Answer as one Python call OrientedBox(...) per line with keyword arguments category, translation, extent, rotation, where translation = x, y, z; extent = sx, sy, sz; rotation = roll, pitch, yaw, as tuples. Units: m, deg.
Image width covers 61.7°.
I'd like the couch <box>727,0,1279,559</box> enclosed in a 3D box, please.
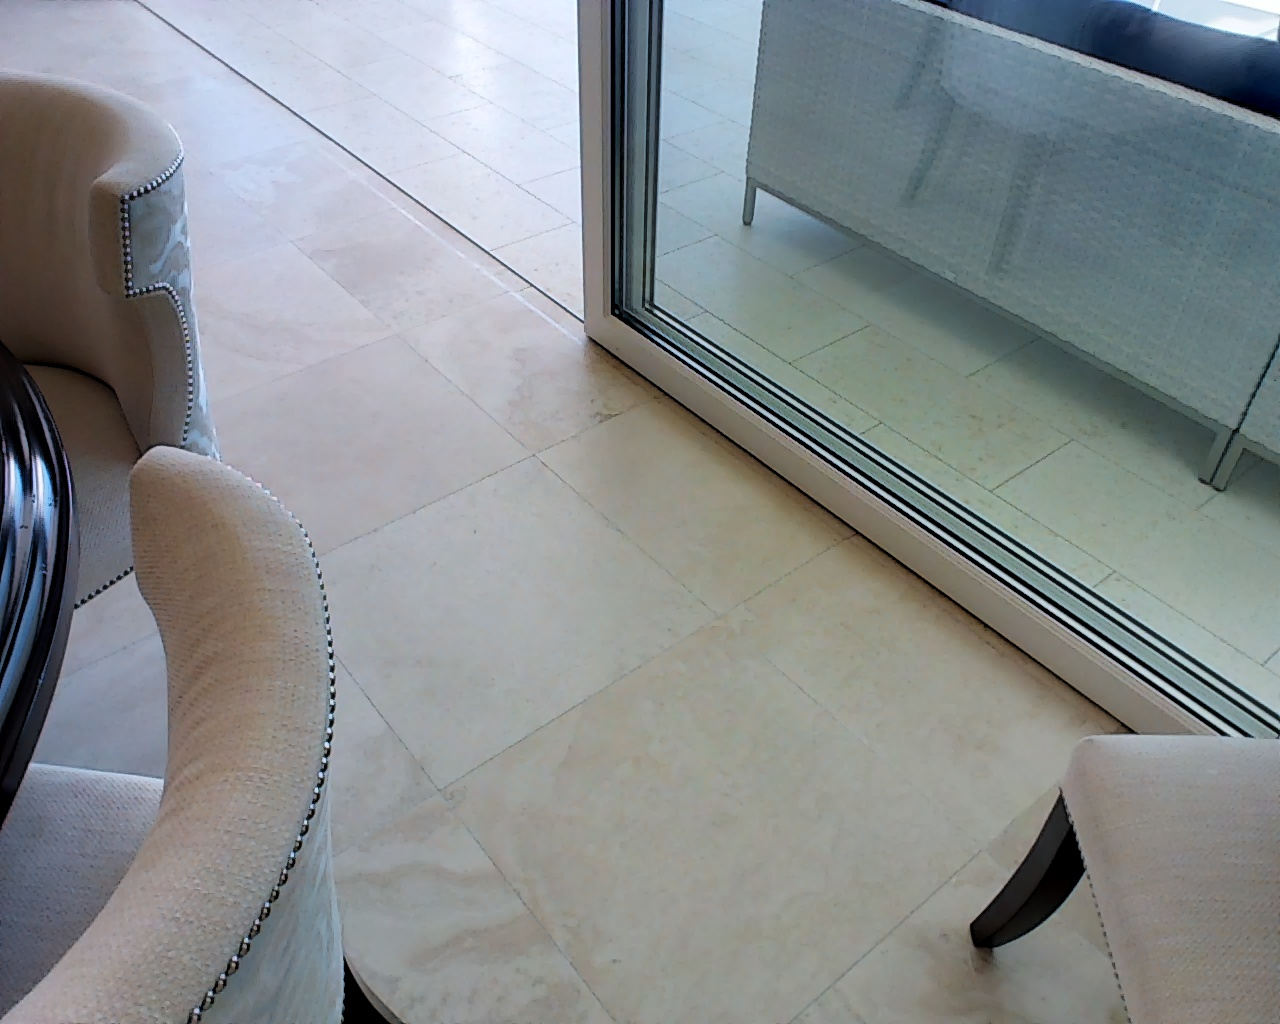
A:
OrientedBox(category="couch", translation=(2.020, -0.970, 2.810), extent=(2.420, 0.880, 2.580), rotation=(-27, 49, -28))
